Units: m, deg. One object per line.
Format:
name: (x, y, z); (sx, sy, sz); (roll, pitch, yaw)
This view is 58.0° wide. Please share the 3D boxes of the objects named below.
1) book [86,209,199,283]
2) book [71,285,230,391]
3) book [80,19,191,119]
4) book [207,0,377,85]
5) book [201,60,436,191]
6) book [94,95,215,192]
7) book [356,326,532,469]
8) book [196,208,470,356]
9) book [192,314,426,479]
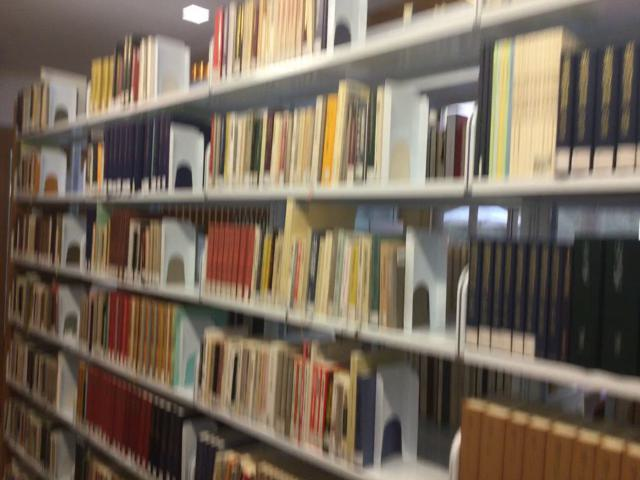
book: (-0.660, 0.010, 2.100); (0.550, 0.230, 0.140); (5, 2, 45)
book: (-0.650, 0.330, 2.130); (0.740, 0.250, 0.210); (4, 0, 44)
book: (-0.700, -0.610, 2.140); (0.150, 0.250, 0.570); (4, 2, -43)
book: (-0.090, -0.590, 1.560); (0.500, 0.240, 0.150); (5, 0, 45)
book: (-0.040, -0.270, 1.520); (0.680, 0.260, 0.160); (5, 1, 44)
book: (-0.600, -0.320, 2.040); (0.160, 0.280, 0.540); (4, 0, -44)
book: (0.330, 0.420, 1.630); (0.480, 0.260, 0.110); (6, 2, 45)
book: (-0.010, 0.070, 1.540); (0.760, 0.270, 0.240); (7, 6, 44)
book: (-0.060, 0.380, 1.560); (0.660, 0.260, 0.210); (4, 0, 44)
